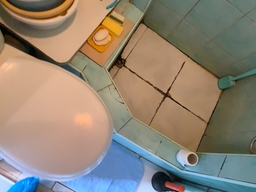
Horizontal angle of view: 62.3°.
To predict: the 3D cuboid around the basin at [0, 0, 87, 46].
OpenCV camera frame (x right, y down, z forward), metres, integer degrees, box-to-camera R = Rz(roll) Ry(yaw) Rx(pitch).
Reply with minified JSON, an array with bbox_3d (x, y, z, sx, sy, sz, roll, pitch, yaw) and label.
[{"bbox_3d":[-0.360,-0.440,0.850,0.300,0.150,0.330,35,70,-6],"label":"basin"}]
